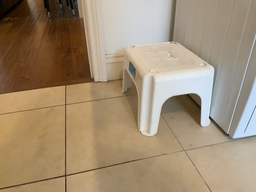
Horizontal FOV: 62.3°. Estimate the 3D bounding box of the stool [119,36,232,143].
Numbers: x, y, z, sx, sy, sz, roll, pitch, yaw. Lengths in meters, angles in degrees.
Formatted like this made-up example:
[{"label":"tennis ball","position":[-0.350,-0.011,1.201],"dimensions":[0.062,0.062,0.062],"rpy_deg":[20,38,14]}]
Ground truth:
[{"label":"stool","position":[0.150,-0.060,0.890],"dimensions":[0.290,0.250,0.400],"rpy_deg":[-8,33,-11]}]
